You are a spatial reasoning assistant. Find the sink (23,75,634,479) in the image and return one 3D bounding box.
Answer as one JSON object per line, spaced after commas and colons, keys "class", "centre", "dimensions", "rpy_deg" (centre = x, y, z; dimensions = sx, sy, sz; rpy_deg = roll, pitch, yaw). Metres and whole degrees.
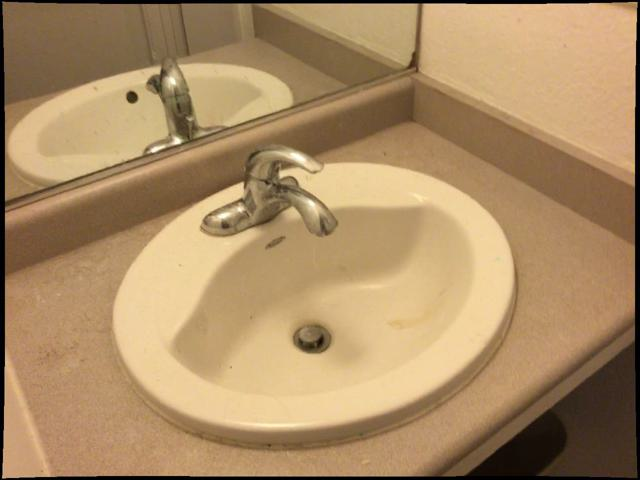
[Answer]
{"class": "sink", "centre": [0.000, 0.060, 0.800], "dimensions": [0.579, 0.280, 0.490], "rpy_deg": [-27, 44, -25]}
